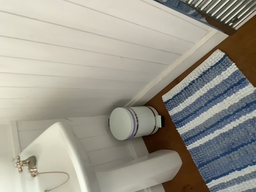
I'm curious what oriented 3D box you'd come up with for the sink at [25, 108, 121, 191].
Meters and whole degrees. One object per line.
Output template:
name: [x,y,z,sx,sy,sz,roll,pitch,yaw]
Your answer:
sink: [-0.240,0.390,0.900,0.390,0.180,0.550,-44,59,37]
